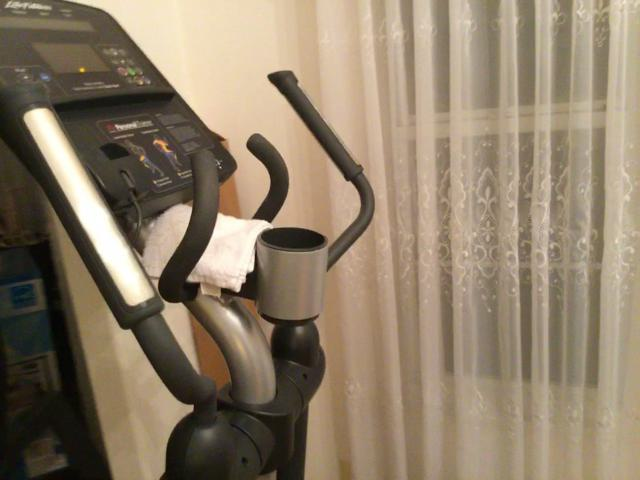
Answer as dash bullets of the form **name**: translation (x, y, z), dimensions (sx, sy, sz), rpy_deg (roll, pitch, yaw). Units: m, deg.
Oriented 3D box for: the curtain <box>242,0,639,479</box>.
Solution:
- **curtain**: translation (0.390, 0.160, 1.390), dimensions (0.960, 1.810, 0.160), rpy_deg (-2, 14, 23)
